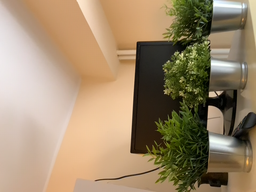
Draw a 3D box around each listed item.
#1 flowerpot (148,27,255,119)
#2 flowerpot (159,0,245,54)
[{"bbox_3d":[0.220,-0.070,0.670,0.190,0.260,0.200,66,-148,-58],"label":"flowerpot"},{"bbox_3d":[0.240,-0.260,0.720,0.210,0.230,0.130,63,-145,-60],"label":"flowerpot"}]
